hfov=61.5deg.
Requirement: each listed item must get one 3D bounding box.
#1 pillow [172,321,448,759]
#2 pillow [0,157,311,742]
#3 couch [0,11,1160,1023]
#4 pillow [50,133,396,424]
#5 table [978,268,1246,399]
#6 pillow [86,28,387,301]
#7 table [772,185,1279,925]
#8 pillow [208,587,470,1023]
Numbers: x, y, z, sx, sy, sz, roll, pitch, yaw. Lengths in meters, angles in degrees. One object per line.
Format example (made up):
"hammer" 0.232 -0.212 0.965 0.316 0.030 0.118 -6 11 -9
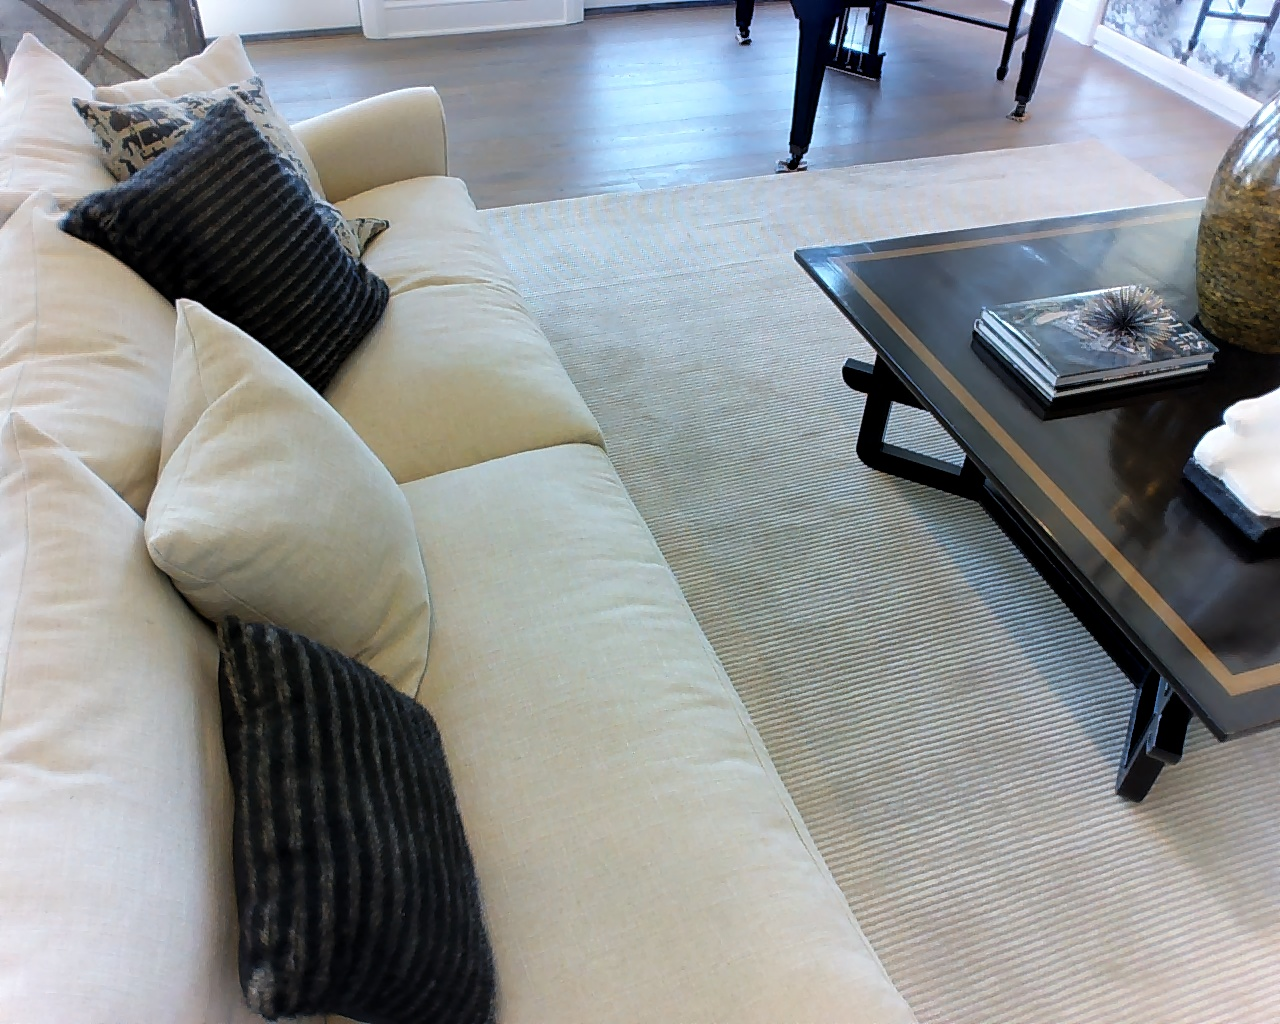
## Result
"pillow" -0.440 0.000 1.460 0.220 0.450 0.480 -12 17 -15
"pillow" -0.760 -0.130 1.590 0.380 0.490 0.700 -12 42 -15
"couch" -0.570 0.010 1.840 1.140 0.830 2.640 -12 42 -15
"pillow" -0.700 -0.440 1.930 0.290 0.420 0.530 -3 19 9
"table" 0.920 -0.360 2.120 0.390 0.060 0.290 -12 42 -15
"pillow" -0.780 -0.670 2.150 0.210 0.440 0.460 -3 11 29
"table" 1.230 -0.090 2.250 1.410 0.490 1.390 -12 42 -15
"pillow" -0.330 0.330 1.160 0.190 0.260 0.470 -12 31 -15
